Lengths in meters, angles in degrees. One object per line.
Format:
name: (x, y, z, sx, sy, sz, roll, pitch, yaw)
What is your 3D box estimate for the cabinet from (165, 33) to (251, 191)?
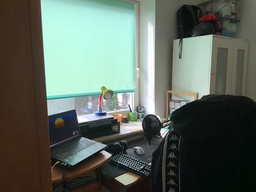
cabinet: (1.000, 0.210, 2.690, 0.840, 1.800, 0.600, -6, 9, -37)
